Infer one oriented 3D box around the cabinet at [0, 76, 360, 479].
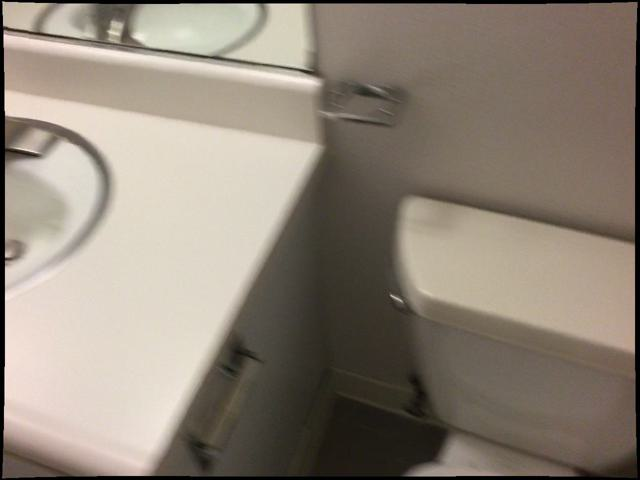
[{"bbox_3d":[-0.499,0.221,1.150,0.988,0.821,0.611,12,49,17],"label":"cabinet"}]
